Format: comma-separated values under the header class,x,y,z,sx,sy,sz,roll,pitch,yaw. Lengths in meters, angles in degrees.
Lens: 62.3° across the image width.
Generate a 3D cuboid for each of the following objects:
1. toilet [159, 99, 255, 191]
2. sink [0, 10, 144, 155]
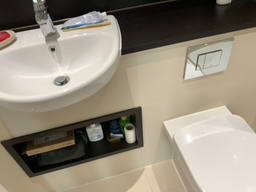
class,x,y,z,sx,sy,sz,roll,pitch,yaw
toilet,0.430,0.390,1.040,0.380,0.450,0.520,-13,44,-8
sink,-0.270,-0.090,0.810,0.540,0.220,0.470,-13,44,-8
